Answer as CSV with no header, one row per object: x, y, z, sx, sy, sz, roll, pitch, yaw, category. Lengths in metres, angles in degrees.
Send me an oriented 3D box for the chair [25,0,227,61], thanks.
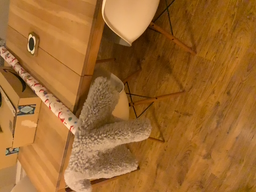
0.050,-0.480,1.040,0.510,0.840,0.450,28,112,38,chair
